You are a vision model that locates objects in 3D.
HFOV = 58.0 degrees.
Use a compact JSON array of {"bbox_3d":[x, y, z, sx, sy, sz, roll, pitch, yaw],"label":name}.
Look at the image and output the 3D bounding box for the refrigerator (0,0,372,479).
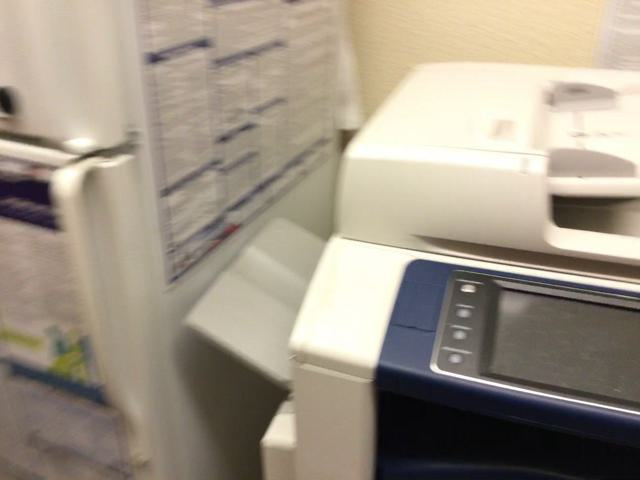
[{"bbox_3d":[-0.480,-0.030,1.300,0.940,1.460,0.860,11,30,20],"label":"refrigerator"}]
